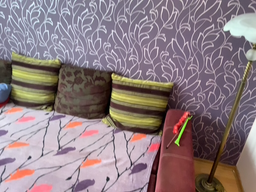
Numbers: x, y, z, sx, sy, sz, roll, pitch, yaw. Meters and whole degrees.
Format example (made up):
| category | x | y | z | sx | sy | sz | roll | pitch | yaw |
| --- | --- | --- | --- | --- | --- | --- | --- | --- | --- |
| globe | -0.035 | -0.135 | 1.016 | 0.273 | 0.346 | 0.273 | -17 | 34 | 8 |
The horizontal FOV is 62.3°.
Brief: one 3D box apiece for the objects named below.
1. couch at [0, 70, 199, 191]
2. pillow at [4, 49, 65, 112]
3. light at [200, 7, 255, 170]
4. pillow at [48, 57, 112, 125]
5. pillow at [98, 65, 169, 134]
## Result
| category | x | y | z | sx | sy | sz | roll | pitch | yaw |
| --- | --- | --- | --- | --- | --- | --- | --- | --- | --- |
| couch | -0.780 | 0.460 | 1.630 | 2.420 | 0.620 | 1.550 | 11 | 26 | 10 |
| pillow | -0.930 | -0.150 | 2.100 | 0.460 | 0.440 | 0.170 | 25 | 26 | 0 |
| light | 0.950 | 0.020 | 1.780 | 0.330 | 1.380 | 0.160 | 9 | 26 | 6 |
| pillow | -0.470 | -0.050 | 2.060 | 0.480 | 0.470 | 0.220 | 21 | 26 | 3 |
| pillow | 0.050 | 0.030 | 1.950 | 0.500 | 0.410 | 0.220 | 27 | 26 | 0 |
